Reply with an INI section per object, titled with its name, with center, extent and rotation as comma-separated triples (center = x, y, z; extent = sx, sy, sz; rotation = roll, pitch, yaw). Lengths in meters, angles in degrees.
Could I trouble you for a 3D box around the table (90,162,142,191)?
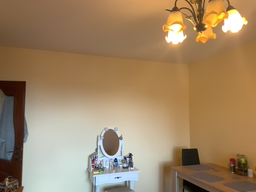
[table]
center = -0.200, 1.460, 3.330
extent = 0.710, 0.690, 0.450
rotation = 2, -4, -20
